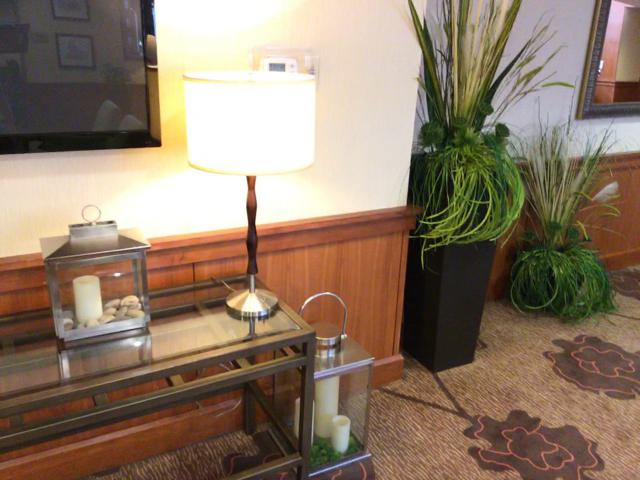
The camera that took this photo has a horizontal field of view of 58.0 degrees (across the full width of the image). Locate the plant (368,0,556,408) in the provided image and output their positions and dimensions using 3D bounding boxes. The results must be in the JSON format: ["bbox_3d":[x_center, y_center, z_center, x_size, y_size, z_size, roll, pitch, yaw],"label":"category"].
[{"bbox_3d":[0.620,-0.340,2.560,0.500,1.990,0.390,-10,4,-32],"label":"plant"}]

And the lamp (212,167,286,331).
[{"bbox_3d":[-0.220,0.020,1.810,0.140,0.480,0.160,-10,13,-32],"label":"lamp"}]

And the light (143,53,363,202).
[{"bbox_3d":[-0.200,-0.330,1.690,0.470,0.350,0.440,-10,13,-32],"label":"light"}]
